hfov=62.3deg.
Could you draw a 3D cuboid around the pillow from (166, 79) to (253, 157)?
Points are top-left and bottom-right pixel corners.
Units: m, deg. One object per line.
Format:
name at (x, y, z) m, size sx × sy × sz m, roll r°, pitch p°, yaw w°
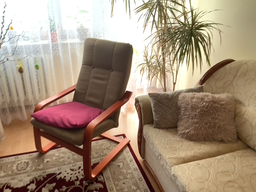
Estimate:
pillow at (0.600, 0.170, 1.590) m, size 0.480 × 0.360 × 0.160 m, roll 33°, pitch 12°, yaw -15°
